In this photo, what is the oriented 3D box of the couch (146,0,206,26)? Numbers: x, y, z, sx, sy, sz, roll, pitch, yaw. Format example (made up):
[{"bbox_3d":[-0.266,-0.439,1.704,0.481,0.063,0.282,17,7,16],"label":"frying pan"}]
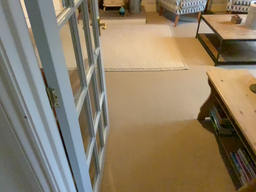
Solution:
[{"bbox_3d":[0.920,-1.990,4.140,0.720,0.830,0.970,-16,41,-19],"label":"couch"}]

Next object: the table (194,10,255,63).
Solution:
[{"bbox_3d":[1.630,-0.910,3.100,1.000,0.390,1.000,-1,38,-1],"label":"table"}]

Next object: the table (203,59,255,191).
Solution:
[{"bbox_3d":[0.970,0.200,1.580,0.360,0.510,1.030,-2,38,-3],"label":"table"}]
